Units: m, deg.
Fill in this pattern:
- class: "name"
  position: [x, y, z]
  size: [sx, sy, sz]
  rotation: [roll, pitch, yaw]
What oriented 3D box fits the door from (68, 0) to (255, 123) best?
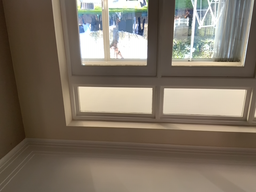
- class: "door"
  position: [0.790, -0.930, 1.850]
  size: [2.720, 2.480, 0.070]
  rotation: [2, -162, 7]
